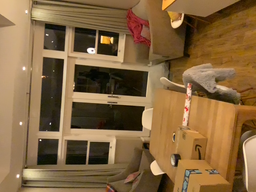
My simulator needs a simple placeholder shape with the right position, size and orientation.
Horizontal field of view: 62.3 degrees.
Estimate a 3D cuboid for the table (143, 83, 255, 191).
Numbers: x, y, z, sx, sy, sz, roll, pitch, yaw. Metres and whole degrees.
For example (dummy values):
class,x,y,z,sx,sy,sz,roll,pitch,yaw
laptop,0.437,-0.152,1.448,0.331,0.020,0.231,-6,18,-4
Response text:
class,x,y,z,sx,sy,sz,roll,pitch,yaw
table,0.800,0.470,2.290,1.720,0.730,1.000,-140,56,-76
